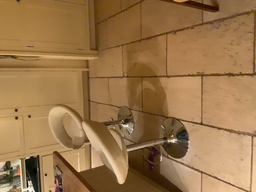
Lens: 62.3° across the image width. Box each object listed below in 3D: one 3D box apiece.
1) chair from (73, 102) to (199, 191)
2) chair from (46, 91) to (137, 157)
[{"bbox_3d":[0.060,0.410,1.810,0.480,0.860,0.470,48,131,43],"label":"chair"},{"bbox_3d":[-0.450,0.310,2.550,0.520,0.860,0.490,-56,49,43],"label":"chair"}]
